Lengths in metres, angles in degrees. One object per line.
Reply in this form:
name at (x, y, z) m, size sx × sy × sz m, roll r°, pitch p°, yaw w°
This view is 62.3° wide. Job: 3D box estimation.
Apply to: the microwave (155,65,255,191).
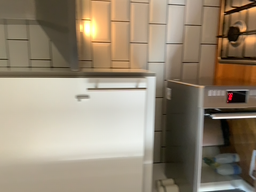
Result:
microwave at (0.360, 0.190, 1.050) m, size 0.490 × 0.290 × 0.630 m, roll -123°, pitch 34°, yaw -73°
